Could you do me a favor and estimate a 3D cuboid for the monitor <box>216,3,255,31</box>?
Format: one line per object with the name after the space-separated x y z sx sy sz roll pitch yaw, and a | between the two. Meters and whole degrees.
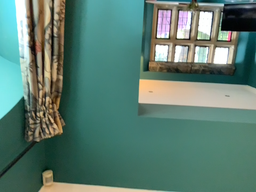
2.510 -1.720 4.630 1.030 0.560 0.070 14 -162 36 | monitor
